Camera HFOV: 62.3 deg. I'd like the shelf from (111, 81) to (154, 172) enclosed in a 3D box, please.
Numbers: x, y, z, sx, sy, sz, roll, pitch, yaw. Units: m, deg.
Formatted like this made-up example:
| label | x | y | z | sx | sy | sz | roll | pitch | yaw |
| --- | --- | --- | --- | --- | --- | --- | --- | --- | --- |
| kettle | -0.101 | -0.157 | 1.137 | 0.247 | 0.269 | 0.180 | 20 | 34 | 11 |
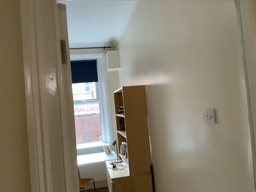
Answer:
| label | x | y | z | sx | sy | sz | roll | pitch | yaw |
| --- | --- | --- | --- | --- | --- | --- | --- | --- | --- |
| shelf | 0.020 | 0.380 | 2.910 | 0.280 | 1.050 | 0.830 | -5 | -4 | -13 |
